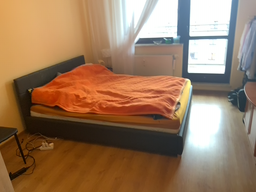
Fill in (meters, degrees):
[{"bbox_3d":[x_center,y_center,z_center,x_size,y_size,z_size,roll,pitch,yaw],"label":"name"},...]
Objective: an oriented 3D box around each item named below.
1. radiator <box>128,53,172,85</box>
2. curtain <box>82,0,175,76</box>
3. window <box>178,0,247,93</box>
[{"bbox_3d":[0.430,-0.530,4.130,0.820,0.570,0.160,4,23,19],"label":"radiator"},{"bbox_3d":[-0.010,-1.420,3.900,1.680,2.050,0.190,4,23,19],"label":"curtain"},{"bbox_3d":[1.440,-1.190,3.740,1.030,2.310,0.150,4,23,18],"label":"window"}]
